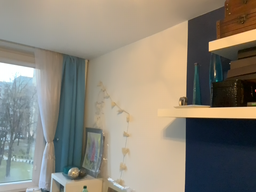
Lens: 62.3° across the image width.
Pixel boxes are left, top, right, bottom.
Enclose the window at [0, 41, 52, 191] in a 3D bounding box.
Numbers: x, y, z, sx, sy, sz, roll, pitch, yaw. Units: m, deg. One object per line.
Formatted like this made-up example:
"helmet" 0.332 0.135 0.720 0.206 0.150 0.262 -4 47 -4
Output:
"window" -1.630 0.280 2.210 1.440 1.790 0.230 8 -8 -39
